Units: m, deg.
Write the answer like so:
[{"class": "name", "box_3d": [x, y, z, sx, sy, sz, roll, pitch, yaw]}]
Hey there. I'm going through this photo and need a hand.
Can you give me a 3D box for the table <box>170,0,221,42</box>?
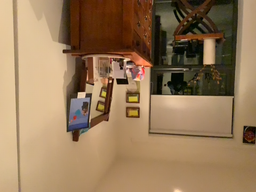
[{"class": "table", "box_3d": [0.900, -1.110, 2.820, 0.590, 0.670, 0.450, 2, -175, 20]}]
